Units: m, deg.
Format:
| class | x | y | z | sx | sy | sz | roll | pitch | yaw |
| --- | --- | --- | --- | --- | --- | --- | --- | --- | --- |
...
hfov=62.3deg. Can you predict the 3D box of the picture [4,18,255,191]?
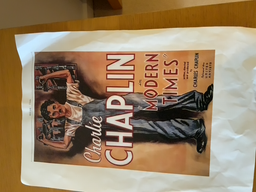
| class | x | y | z | sx | sy | sz | roll | pitch | yaw |
| --- | --- | --- | --- | --- | --- | --- | --- | --- | --- |
| picture | -0.010 | 0.020 | 0.260 | 0.300 | 0.020 | 0.210 | 1 | 92 | 10 |
